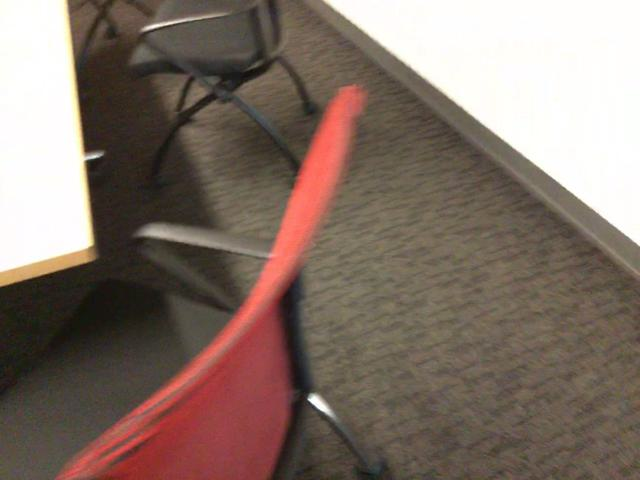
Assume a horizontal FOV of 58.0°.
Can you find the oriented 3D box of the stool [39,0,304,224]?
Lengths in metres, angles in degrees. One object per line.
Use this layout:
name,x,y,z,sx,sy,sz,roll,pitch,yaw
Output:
stool,-0.400,-0.650,1.870,0.610,0.940,0.670,-4,41,1
